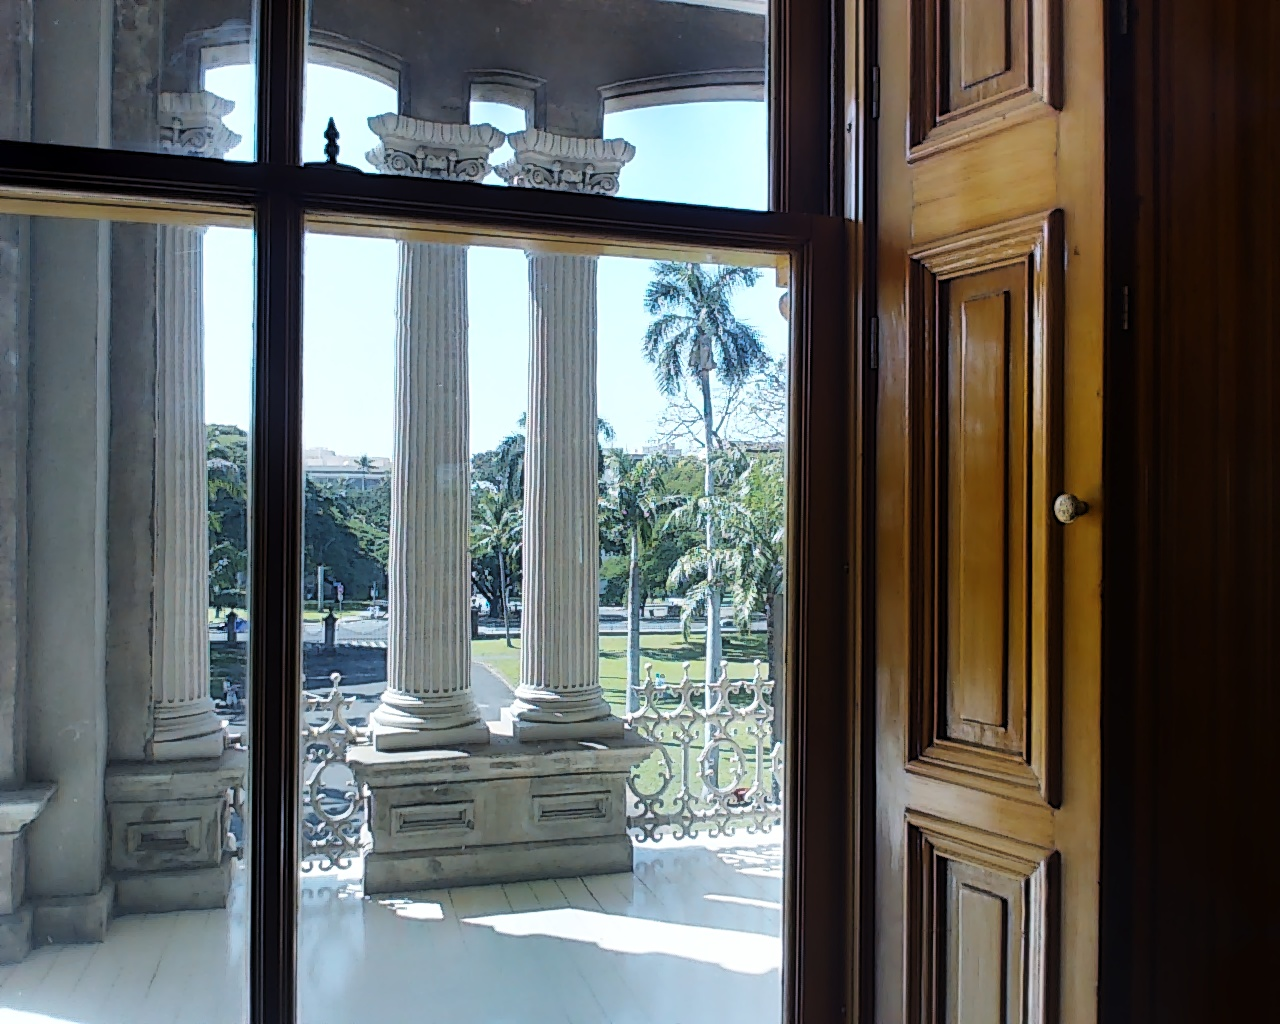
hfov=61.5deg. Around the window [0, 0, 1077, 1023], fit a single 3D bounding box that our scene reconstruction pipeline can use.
[{"bbox_3d":[-0.270,-0.060,1.100,1.560,3.160,0.090,1,0,-14],"label":"window"}]
